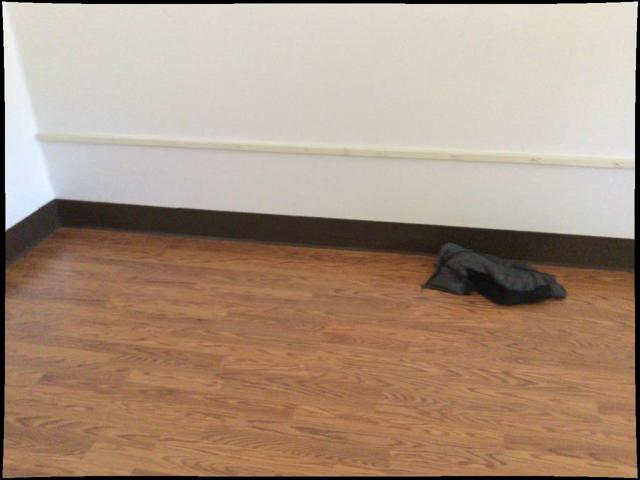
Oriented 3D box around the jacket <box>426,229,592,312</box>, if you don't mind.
[{"bbox_3d":[0.729,0.110,2.300,0.579,0.120,0.330,5,29,11],"label":"jacket"}]
